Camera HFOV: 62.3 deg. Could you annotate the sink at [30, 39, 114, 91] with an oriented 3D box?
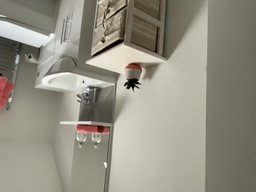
[{"bbox_3d":[-0.450,-0.200,1.640,0.400,0.190,0.580,13,167,-39],"label":"sink"}]
